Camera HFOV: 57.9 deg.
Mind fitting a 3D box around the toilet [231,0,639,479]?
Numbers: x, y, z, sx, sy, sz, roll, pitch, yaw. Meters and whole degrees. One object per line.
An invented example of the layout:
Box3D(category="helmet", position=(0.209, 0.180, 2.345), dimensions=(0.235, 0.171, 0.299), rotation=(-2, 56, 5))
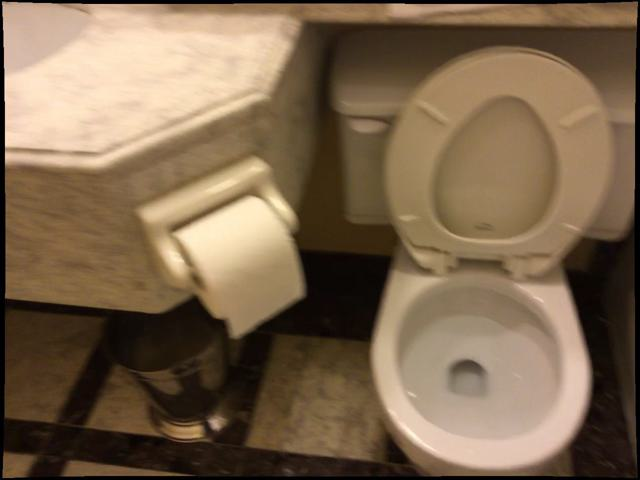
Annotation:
Box3D(category="toilet", position=(0.300, 0.060, 1.060), dimensions=(0.629, 0.760, 0.680), rotation=(2, 46, 10))
